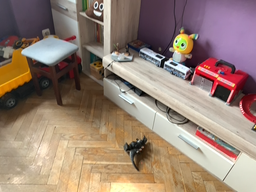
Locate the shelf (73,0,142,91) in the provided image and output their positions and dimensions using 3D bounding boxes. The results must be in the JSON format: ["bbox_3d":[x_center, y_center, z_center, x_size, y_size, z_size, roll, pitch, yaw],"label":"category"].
[{"bbox_3d":[-0.180,-0.730,1.840,0.450,1.300,0.370,34,48,30],"label":"shelf"}]

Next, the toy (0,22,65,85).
[{"bbox_3d":[-1.040,-0.450,2.120,0.340,0.310,0.680,33,48,28],"label":"toy"}]

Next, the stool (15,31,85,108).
[{"bbox_3d":[-0.650,-0.240,1.860,0.360,0.470,0.360,22,43,19],"label":"stool"}]

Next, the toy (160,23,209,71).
[{"bbox_3d":[0.410,-0.370,1.590,0.130,0.240,0.280,-30,51,-34],"label":"toy"}]
